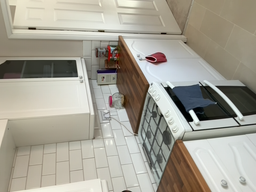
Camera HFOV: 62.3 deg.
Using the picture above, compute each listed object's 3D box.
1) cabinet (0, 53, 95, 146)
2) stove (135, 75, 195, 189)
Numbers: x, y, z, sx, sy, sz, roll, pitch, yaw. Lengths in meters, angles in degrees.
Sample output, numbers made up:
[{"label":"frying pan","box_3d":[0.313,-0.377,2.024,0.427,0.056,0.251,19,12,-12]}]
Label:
[{"label":"cabinet","box_3d":[-0.900,-0.040,2.070,1.010,1.000,0.330,-113,26,-49]},{"label":"stove","box_3d":[0.230,0.270,1.640,0.570,0.090,0.660,-113,26,-49]}]
